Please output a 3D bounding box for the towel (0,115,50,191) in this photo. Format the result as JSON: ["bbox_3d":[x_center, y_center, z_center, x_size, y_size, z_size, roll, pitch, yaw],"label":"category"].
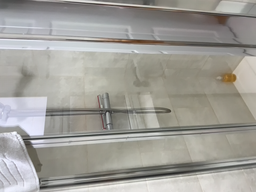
[{"bbox_3d":[-0.570,0.270,0.750,0.540,0.500,0.100,106,158,-49],"label":"towel"}]
